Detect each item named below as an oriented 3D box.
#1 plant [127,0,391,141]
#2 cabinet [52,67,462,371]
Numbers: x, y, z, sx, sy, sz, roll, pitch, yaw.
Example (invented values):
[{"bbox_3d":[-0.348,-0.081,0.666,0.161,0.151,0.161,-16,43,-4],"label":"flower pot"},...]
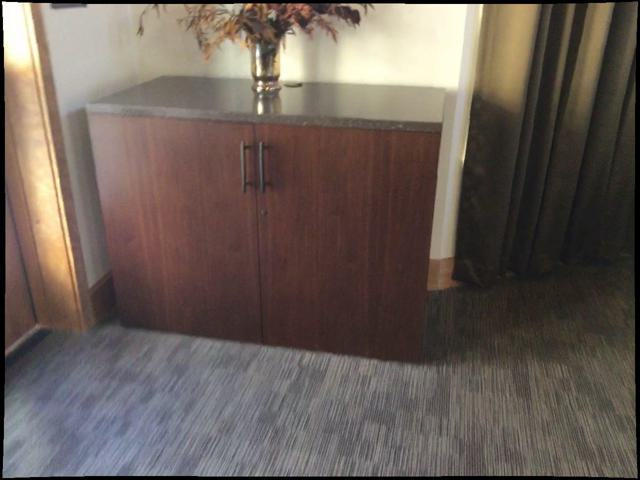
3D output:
[{"bbox_3d":[-0.170,-0.801,2.100,0.739,0.651,0.690,7,27,14],"label":"plant"},{"bbox_3d":[-0.190,-0.160,2.350,1.359,0.881,0.700,7,27,14],"label":"cabinet"}]
